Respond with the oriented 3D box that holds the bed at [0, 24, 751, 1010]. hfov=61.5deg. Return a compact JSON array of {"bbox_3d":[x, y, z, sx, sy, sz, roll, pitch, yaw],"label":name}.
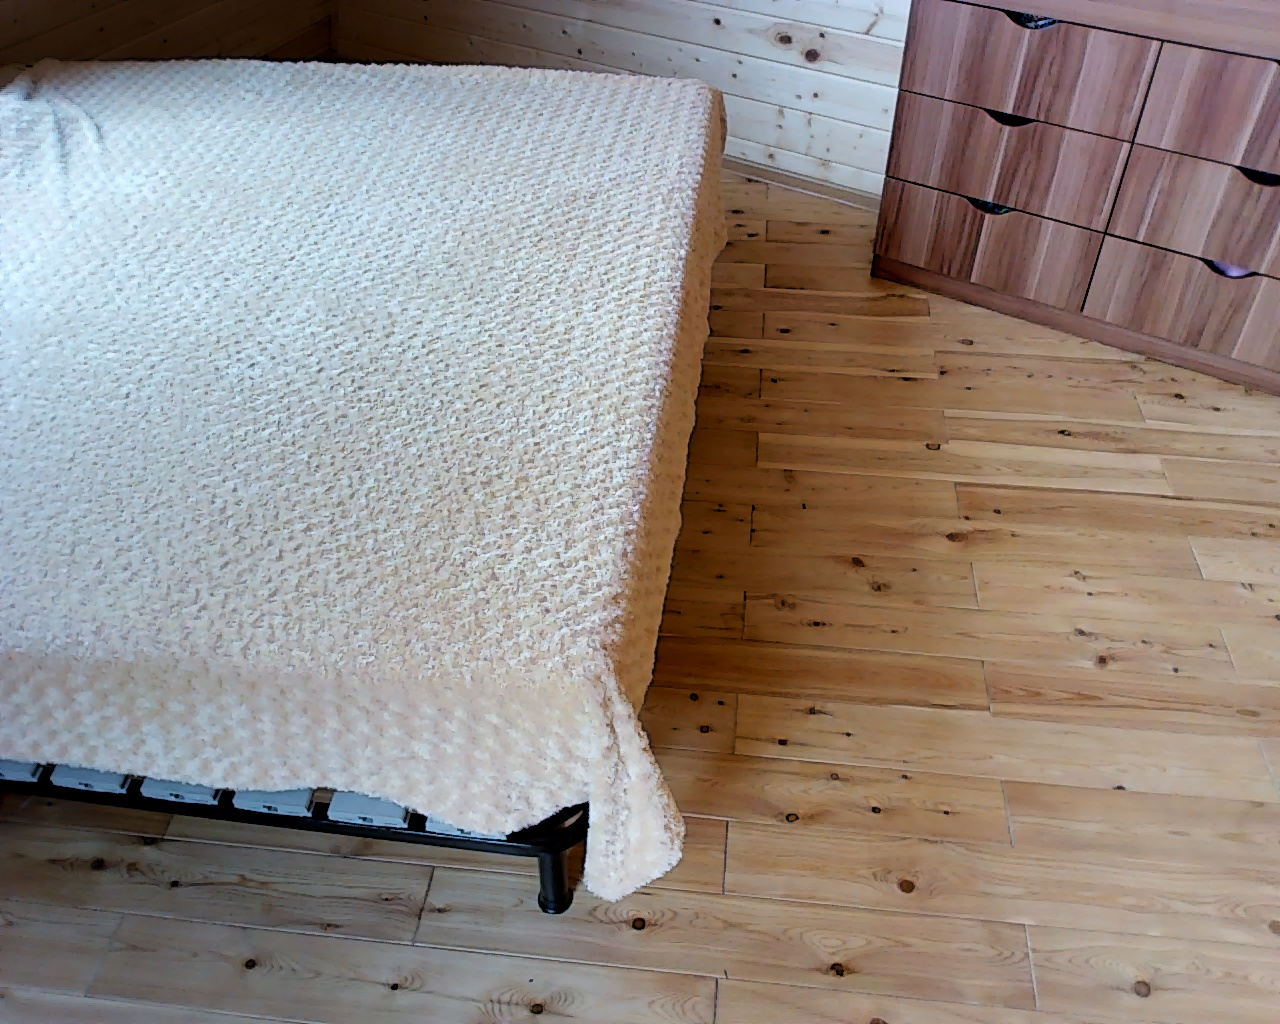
[{"bbox_3d":[-0.970,-0.330,2.310,2.320,0.610,2.290,4,42,5],"label":"bed"}]
